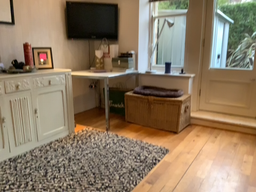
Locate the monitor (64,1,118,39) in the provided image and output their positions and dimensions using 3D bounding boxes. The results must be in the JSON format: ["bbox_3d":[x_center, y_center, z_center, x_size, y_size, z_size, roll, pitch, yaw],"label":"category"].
[{"bbox_3d":[-0.550,-1.180,3.310,0.800,0.540,0.040,-7,16,-18],"label":"monitor"}]
